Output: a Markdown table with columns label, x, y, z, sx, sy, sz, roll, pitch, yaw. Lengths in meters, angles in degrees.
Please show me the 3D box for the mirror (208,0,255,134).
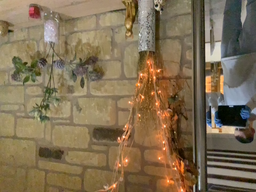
| label | x | y | z | sx | sy | sz | roll | pitch | yaw |
| --- | --- | --- | --- | --- | --- | --- | --- | --- | --- |
| mirror | 0.640 | -0.380 | 1.010 | 0.480 | 1.110 | 0.070 | -1 | 177 | 24 |
